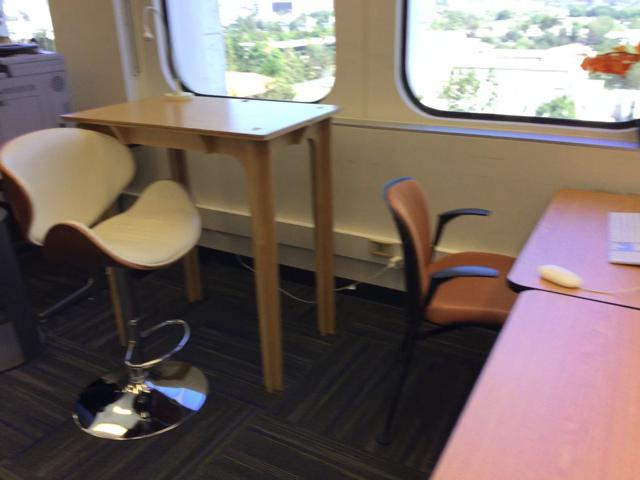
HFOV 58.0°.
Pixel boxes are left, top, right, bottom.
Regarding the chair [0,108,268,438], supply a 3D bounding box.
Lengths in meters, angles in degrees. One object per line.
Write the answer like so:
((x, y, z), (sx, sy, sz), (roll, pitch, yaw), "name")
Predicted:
((-0.680, 0.050, 2.010), (0.630, 0.890, 0.620), (6, 23, 32), "chair")

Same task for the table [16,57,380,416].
((-0.460, -0.090, 2.430), (1.120, 1.150, 0.730), (6, 23, 32), "table")

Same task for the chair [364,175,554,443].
((0.460, 0.180, 1.970), (0.520, 0.720, 0.560), (2, 15, 15), "chair")
